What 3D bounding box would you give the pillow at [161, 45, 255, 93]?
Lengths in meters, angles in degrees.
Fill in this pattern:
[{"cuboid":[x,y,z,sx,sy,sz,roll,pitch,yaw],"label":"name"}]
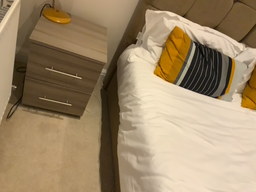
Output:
[{"cuboid":[0.520,-0.160,1.350,0.590,0.330,0.130,4,69,7],"label":"pillow"}]
